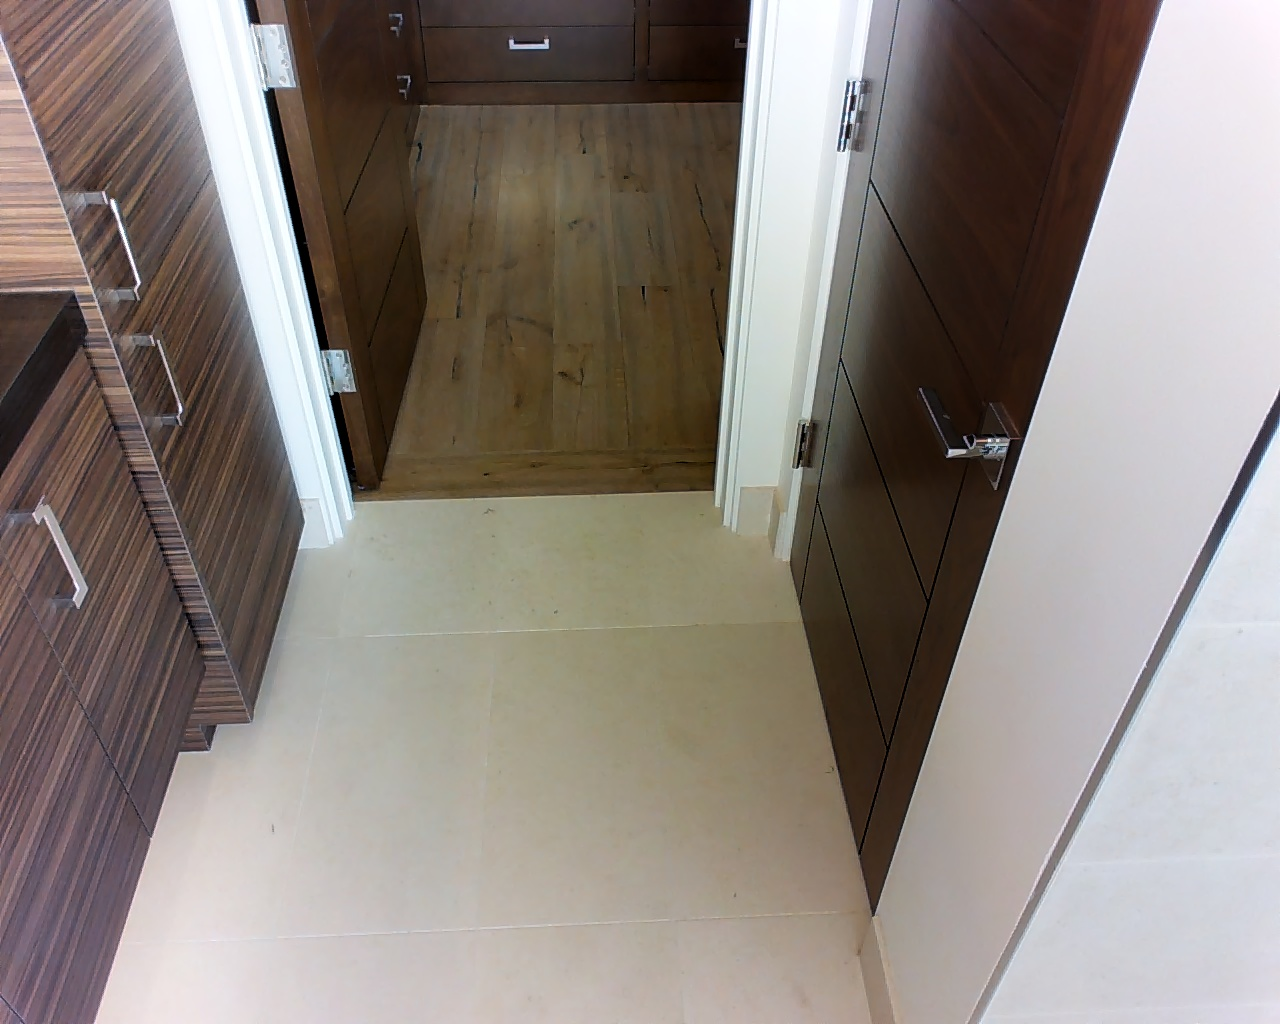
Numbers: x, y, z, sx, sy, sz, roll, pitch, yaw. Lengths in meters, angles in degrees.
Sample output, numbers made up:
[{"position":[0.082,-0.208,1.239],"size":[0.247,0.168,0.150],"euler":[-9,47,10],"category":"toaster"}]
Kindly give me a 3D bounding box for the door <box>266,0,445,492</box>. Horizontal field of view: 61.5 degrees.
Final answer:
[{"position":[-0.570,-1.290,1.890],"size":[0.040,2.530,0.910],"euler":[0,42,0],"category":"door"}]
